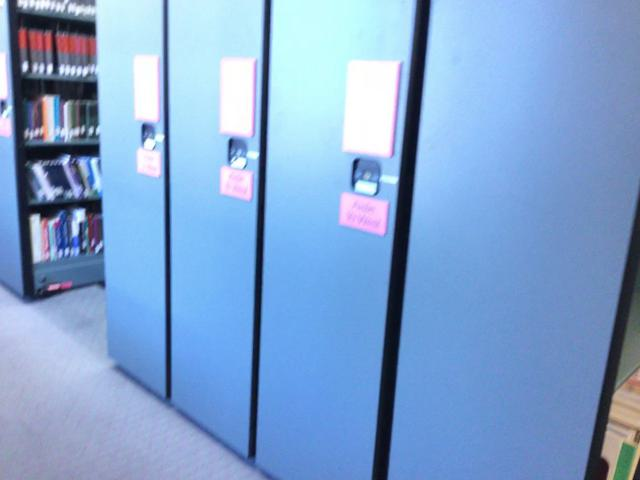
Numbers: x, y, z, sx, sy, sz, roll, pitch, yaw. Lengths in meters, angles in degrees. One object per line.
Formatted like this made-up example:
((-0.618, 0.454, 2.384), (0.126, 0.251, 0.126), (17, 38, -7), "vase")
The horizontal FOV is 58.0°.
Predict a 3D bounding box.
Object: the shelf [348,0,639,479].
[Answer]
((0.760, -0.250, 1.580), (0.800, 2.550, 1.040), (11, 14, 43), "shelf")

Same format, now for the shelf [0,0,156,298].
((-1.770, -0.940, 3.690), (1.290, 2.280, 0.810), (11, 14, 42), "shelf")

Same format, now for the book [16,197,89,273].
((-1.610, -0.040, 3.490), (0.230, 0.400, 0.320), (11, 14, 43), "book")
